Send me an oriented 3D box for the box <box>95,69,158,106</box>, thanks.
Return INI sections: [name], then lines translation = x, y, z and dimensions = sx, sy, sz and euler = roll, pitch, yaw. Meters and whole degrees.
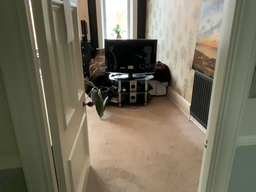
[box]
translation = -0.040, -0.160, 3.780
dimensions = 1.060, 0.510, 0.370
euler = -4, 21, -8
